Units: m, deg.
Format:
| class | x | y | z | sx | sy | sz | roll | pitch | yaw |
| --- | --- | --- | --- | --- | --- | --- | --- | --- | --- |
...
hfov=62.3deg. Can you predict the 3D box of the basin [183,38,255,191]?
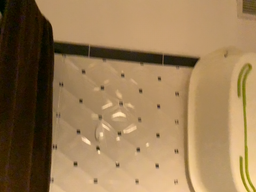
| class | x | y | z | sx | sy | sz | roll | pitch | yaw |
| --- | --- | --- | --- | --- | --- | --- | --- | --- | --- |
| basin | 0.480 | 0.160 | 0.850 | 0.410 | 0.650 | 0.280 | 5 | -9 | -13 |
